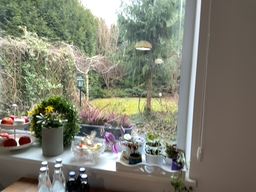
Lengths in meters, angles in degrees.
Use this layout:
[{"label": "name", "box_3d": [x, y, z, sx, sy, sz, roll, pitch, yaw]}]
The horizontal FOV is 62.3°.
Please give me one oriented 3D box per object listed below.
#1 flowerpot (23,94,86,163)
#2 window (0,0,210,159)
[{"label": "flowerpot", "box_3d": [-0.550, 0.220, 1.650, 0.300, 0.420, 0.390, 4, 7, 12]}, {"label": "window", "box_3d": [-0.380, -0.330, 1.630, 1.840, 1.410, 0.080, 4, 7, 13]}]
